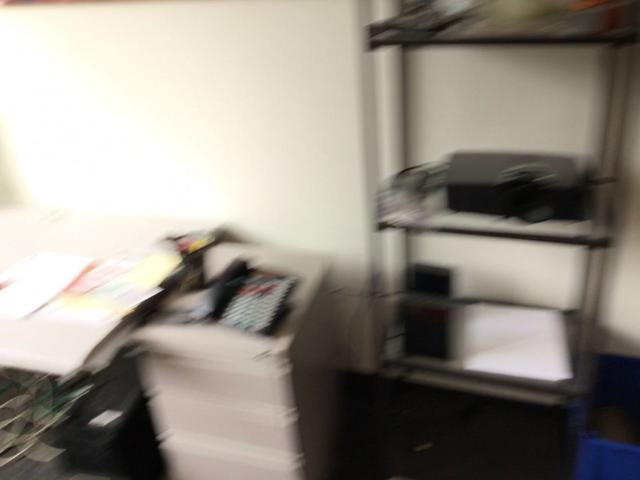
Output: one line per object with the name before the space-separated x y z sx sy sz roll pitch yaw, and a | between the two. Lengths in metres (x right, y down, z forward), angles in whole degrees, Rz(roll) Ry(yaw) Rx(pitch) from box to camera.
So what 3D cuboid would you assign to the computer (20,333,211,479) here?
computer | -0.580 0.580 1.750 0.250 0.370 0.460 3 27 18
